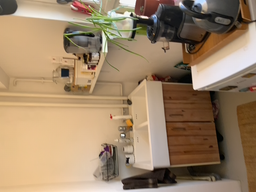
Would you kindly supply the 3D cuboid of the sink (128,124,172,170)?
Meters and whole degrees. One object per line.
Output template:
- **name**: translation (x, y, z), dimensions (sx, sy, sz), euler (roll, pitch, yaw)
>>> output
- **sink**: translation (0.190, 0.520, 2.220), dimensions (0.750, 0.170, 0.390), euler (143, 127, -70)

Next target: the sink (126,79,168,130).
- **sink**: translation (0.170, 0.130, 2.310), dimensions (0.750, 0.170, 0.410), euler (139, 131, -69)
